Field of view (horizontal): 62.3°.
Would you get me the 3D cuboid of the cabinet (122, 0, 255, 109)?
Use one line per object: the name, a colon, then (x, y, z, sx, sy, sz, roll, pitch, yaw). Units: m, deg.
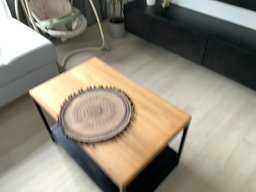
cabinet: (0.730, -0.420, 1.930, 0.330, 0.420, 1.940, -34, 53, -29)

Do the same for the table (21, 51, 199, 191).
table: (-0.130, 0.200, 1.370, 0.870, 0.520, 0.550, 33, 54, 30)

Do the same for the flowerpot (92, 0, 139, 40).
flowerpot: (-0.160, -1.220, 2.470, 0.310, 0.920, 0.510, -32, 52, -28)
